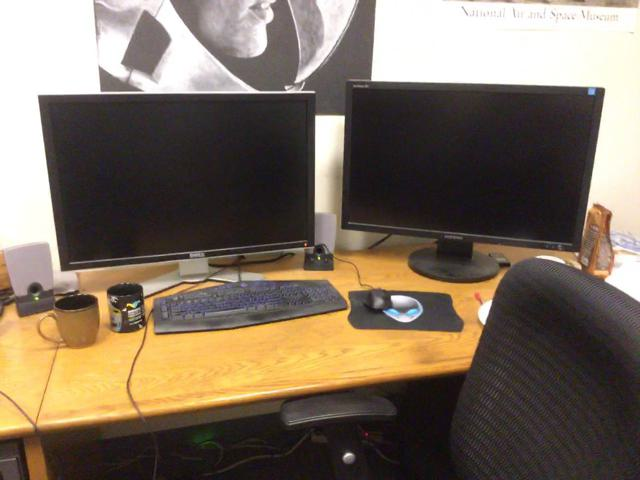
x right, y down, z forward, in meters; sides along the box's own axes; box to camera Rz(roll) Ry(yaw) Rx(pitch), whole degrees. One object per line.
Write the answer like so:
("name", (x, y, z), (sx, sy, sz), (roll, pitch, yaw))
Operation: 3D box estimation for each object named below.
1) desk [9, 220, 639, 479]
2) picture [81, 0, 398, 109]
("desk", (0.220, 0.480, 1.720), (1.820, 0.730, 0.900), (-5, 19, -18))
("picture", (-0.190, -0.870, 1.540), (0.880, 1.000, 0.040), (-5, 19, -18))
